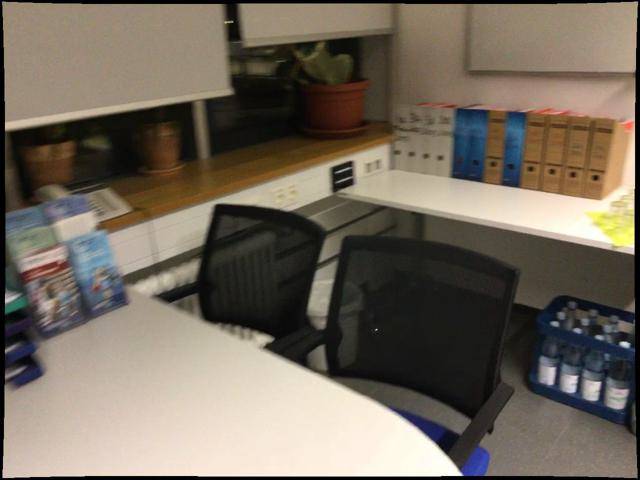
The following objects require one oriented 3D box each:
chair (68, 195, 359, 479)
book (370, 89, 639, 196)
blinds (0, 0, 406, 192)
[{"bbox_3d":[-0.260,0.400,1.750,0.460,0.871,0.620,16,29,37],"label":"chair"},{"bbox_3d":[0.759,-0.470,2.580,1.099,0.300,0.290,16,29,37],"label":"book"},{"bbox_3d":[-0.440,-0.831,2.210,0.390,0.761,2.239,16,29,37],"label":"blinds"}]
